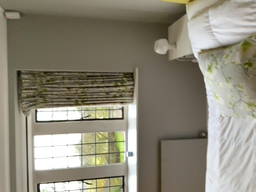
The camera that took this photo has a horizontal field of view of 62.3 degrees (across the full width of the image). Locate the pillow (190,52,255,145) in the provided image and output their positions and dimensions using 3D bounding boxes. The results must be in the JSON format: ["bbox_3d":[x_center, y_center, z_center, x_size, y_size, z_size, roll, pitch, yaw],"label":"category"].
[{"bbox_3d":[0.600,0.000,1.250,0.510,0.230,0.430,-167,77,-76],"label":"pillow"}]
